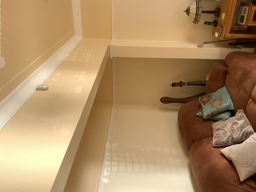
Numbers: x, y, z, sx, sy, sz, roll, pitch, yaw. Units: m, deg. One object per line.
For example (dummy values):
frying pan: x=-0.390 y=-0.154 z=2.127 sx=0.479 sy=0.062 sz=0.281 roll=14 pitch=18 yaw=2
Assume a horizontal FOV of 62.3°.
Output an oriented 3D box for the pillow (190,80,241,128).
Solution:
pillow: x=1.090 y=0.090 z=2.700 sx=0.250 sy=0.410 sz=0.430 roll=46 pitch=-162 yaw=-18

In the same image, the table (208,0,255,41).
table: x=1.470 y=-1.130 z=2.860 sx=0.520 sy=0.490 sz=0.630 roll=-89 pitch=1 yaw=-61

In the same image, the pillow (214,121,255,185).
pillow: x=1.060 y=0.500 z=1.920 sx=0.210 sy=0.360 sz=0.410 roll=50 pitch=-163 yaw=-20

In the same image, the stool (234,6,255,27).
stool: x=1.570 y=-1.010 z=2.700 sx=0.200 sy=0.300 sz=0.240 roll=-89 pitch=1 yaw=-68

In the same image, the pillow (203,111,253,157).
pillow: x=1.050 y=0.400 z=2.270 sx=0.180 sy=0.350 sz=0.320 roll=47 pitch=-162 yaw=-16
